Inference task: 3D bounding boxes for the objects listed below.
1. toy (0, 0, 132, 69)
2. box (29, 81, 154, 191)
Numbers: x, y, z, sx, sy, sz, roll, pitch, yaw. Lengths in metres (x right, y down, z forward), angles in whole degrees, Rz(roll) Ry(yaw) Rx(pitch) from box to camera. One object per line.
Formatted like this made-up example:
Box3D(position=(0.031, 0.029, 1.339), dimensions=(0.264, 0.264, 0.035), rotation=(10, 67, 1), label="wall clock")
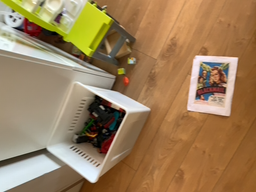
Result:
Box3D(position=(-0.420, -0.450, 1.050), dimensions=(0.660, 0.560, 0.310), rotation=(30, 100, 19), label="toy")
Box3D(position=(-0.140, 0.180, 1.020), dimensions=(0.300, 0.420, 0.380), rotation=(29, 99, 19), label="box")
